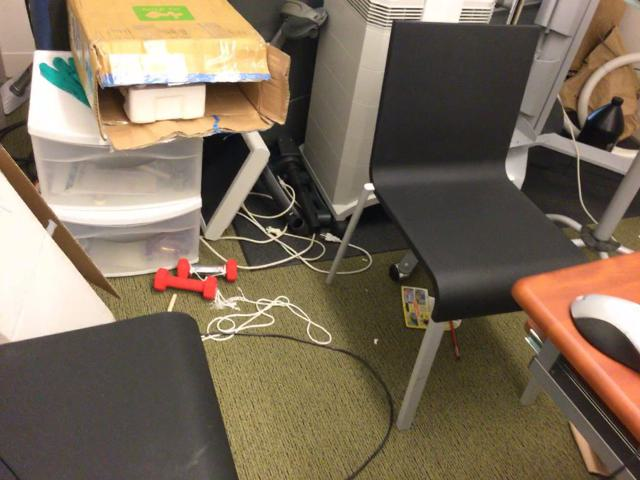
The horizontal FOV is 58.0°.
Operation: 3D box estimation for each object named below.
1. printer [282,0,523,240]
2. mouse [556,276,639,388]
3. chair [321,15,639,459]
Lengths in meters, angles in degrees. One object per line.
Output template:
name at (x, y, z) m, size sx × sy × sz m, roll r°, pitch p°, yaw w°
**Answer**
printer at (0.200, -0.490, 1.850) m, size 0.410 × 0.800 × 0.520 m, roll -4°, pitch 38°, yaw -22°
mouse at (0.350, 0.100, 0.660) m, size 0.090 × 0.040 × 0.120 m, roll -7°, pitch 39°, yaw -20°
chair at (0.350, -0.020, 1.370) m, size 0.430 × 0.810 × 0.590 m, roll -6°, pitch 39°, yaw -19°
